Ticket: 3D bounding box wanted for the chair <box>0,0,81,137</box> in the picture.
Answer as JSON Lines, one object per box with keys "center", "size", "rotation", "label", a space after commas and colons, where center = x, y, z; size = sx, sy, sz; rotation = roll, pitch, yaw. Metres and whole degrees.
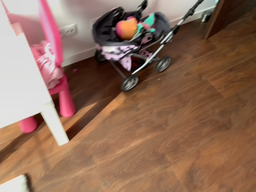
{"center": [-0.520, -0.140, 1.110], "size": [0.360, 0.650, 0.350], "rotation": [-24, 61, -19], "label": "chair"}
